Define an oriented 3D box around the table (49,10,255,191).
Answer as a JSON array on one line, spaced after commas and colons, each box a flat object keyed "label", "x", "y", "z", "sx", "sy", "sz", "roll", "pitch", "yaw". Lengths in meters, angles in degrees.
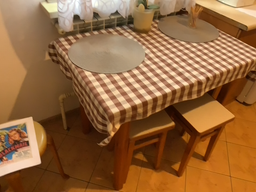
[{"label": "table", "x": 0.140, "y": 0.000, "z": 1.420, "sx": 0.980, "sy": 0.770, "sz": 0.710, "roll": -20, "pitch": 47, "yaw": -26}]
